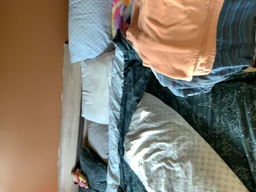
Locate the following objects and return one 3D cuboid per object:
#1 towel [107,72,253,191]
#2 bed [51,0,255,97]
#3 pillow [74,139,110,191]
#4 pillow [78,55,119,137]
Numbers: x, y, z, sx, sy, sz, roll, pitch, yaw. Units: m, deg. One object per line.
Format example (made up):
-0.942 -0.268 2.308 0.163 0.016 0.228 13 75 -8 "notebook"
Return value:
0.250 0.470 1.170 1.140 0.140 0.630 58 136 36 "towel"
0.180 -0.560 1.430 1.370 0.990 0.710 29 116 52 "bed"
-0.390 0.880 2.160 0.430 0.140 0.730 31 118 51 "pillow"
-0.280 -0.020 1.890 0.420 0.150 0.630 25 113 53 "pillow"
